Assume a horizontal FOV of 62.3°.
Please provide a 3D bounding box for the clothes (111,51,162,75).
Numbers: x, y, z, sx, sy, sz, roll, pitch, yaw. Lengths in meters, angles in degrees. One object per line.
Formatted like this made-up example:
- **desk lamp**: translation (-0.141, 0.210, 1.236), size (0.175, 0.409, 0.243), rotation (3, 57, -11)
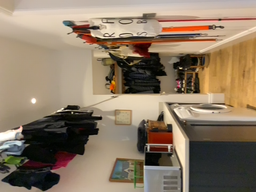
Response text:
- **clothes**: translation (0.210, -0.670, 4.520), size (1.320, 0.920, 0.410), rotation (-54, -36, -82)
